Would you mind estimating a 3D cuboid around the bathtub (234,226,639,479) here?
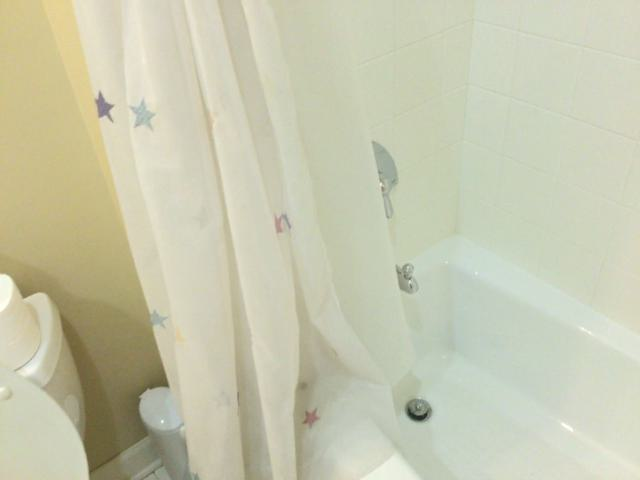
[{"bbox_3d":[0.560,0.570,1.130,0.750,0.370,1.420,-29,43,-28],"label":"bathtub"}]
